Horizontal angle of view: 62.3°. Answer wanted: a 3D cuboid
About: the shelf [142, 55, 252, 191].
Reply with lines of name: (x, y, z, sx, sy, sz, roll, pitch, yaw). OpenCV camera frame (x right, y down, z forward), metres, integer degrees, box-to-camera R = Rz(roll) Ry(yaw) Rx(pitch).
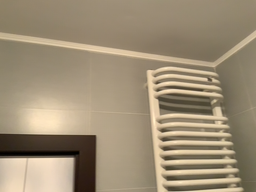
shelf: (0.320, 0.490, 0.850, 0.420, 1.360, 0.120, 6, -23, -22)
